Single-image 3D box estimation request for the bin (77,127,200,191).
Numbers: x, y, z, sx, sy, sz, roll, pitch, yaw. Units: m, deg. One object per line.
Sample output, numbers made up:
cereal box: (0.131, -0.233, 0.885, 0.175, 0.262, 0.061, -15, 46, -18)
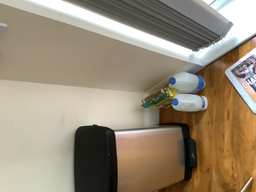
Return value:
bin: (0.120, 0.360, 1.270, 0.250, 0.810, 0.300, -5, 84, 45)
